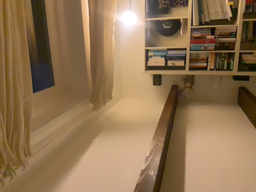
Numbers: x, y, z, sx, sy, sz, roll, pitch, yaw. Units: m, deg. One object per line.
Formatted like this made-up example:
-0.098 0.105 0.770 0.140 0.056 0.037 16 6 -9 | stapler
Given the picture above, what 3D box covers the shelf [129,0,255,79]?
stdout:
0.760 -0.670 2.410 1.460 0.870 0.240 3 -164 15 | shelf
